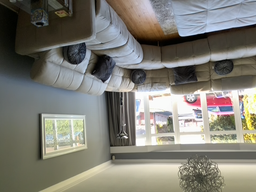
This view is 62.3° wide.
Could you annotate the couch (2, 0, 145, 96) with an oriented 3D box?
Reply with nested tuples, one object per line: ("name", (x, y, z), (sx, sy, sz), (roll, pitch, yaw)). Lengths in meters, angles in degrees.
("couch", (-0.550, -0.650, 3.000), (1.070, 1.020, 1.870), (-6, 173, 19))

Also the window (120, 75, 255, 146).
("window", (1.770, 0.370, 4.820), (3.940, 1.390, 0.450), (-5, 173, 18))

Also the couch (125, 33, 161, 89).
("couch", (0.260, -0.640, 4.230), (0.320, 0.840, 0.960), (-1, 173, -18))

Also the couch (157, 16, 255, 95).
("couch", (1.590, -0.660, 4.020), (1.830, 1.010, 1.040), (-6, 173, 19))
